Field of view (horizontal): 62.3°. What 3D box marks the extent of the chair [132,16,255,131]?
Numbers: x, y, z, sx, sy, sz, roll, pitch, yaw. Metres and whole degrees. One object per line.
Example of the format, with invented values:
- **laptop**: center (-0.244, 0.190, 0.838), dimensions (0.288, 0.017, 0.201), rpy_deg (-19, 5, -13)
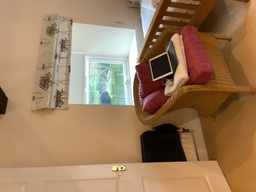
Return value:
- **chair**: center (0.520, -0.140, 2.050), dimensions (0.860, 0.720, 0.700), rpy_deg (114, 154, -58)
